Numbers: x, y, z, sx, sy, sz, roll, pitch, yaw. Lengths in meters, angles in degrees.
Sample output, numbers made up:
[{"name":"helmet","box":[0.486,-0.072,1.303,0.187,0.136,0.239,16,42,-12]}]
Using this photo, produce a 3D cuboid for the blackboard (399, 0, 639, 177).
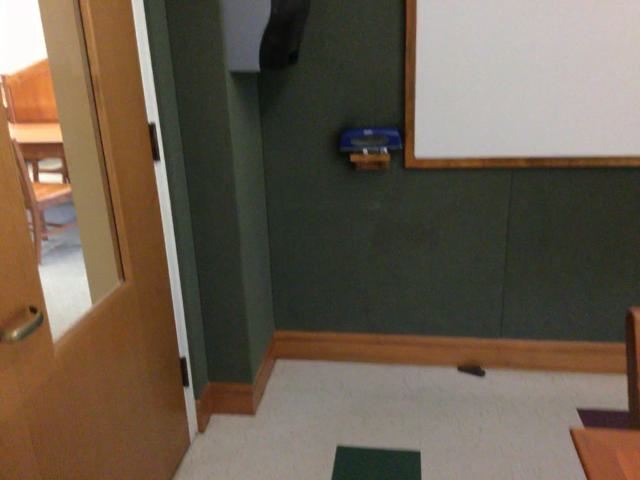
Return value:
[{"name":"blackboard","box":[1.170,-0.710,2.020,1.770,0.940,0.090,0,18,8]}]
